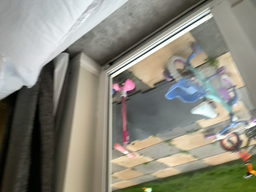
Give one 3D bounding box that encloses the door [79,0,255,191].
[{"bbox_3d":[0.510,0.220,0.640,1.920,2.110,0.130,-28,136,31],"label":"door"}]
